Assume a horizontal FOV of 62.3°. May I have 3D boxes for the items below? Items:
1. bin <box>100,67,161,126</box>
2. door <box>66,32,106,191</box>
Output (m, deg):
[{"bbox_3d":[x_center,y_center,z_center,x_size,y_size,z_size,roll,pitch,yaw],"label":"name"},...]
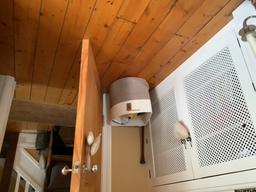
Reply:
[{"bbox_3d":[0.000,0.030,2.000,0.390,0.340,0.450,10,151,-24],"label":"bin"},{"bbox_3d":[-0.240,0.710,1.380,0.080,2.130,0.870,-3,154,0],"label":"door"}]
